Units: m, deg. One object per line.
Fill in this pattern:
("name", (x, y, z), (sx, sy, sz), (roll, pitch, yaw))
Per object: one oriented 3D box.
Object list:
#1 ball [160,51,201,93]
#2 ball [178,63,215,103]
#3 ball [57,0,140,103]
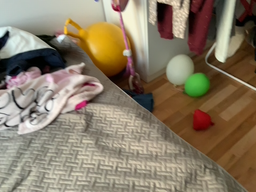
("ball", (0.380, -0.180, 1.560), (0.230, 0.180, 0.160), (-27, 47, -20))
("ball", (0.470, -0.090, 1.470), (0.190, 0.180, 0.130), (-27, 47, -20))
("ball", (-0.200, -0.340, 1.580), (0.320, 0.550, 0.460), (-32, 49, -24))
